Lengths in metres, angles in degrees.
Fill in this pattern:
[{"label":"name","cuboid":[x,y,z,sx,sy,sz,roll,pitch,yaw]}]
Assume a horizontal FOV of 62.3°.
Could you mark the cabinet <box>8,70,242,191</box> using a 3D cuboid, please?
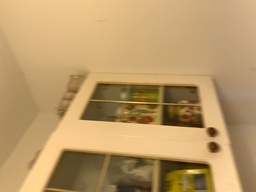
[{"label":"cabinet","cuboid":[0.020,0.260,0.770,0.800,0.590,0.320,-76,-15,-50]}]
